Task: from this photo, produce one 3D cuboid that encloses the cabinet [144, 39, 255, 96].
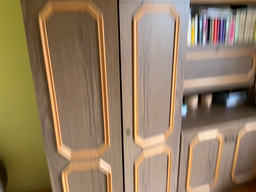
[{"bbox_3d":[0.640,-0.290,1.920,0.910,0.380,0.380,-7,20,-17],"label":"cabinet"}]
